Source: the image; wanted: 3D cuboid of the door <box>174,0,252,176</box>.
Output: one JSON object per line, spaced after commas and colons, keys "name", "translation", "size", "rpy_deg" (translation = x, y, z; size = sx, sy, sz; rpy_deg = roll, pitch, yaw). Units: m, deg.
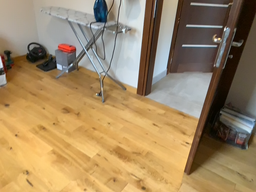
{"name": "door", "translation": [0.720, -0.400, 1.550], "size": [0.110, 2.010, 0.830], "rpy_deg": [20, 34, 24]}
